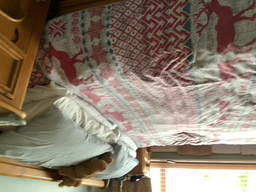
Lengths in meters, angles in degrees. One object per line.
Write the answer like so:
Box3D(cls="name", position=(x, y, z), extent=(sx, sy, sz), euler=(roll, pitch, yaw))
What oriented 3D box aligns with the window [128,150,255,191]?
Box3D(cls="window", position=(0.920, 1.380, 2.370), extent=(1.900, 1.510, 0.120), euler=(-4, 155, 16))
